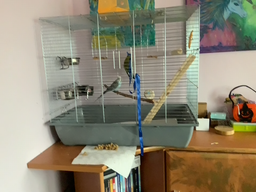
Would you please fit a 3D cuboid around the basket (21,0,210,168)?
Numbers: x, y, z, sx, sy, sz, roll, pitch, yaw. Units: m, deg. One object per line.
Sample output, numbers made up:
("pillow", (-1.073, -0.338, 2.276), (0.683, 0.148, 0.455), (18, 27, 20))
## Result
("basket", (-0.020, -0.060, 1.050), (0.710, 0.610, 0.460), (-1, 11, 11))
